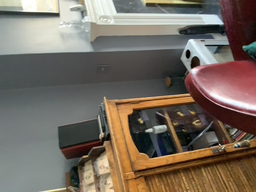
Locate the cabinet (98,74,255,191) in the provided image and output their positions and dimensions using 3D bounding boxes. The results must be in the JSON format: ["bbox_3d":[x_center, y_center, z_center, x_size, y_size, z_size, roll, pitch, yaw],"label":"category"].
[{"bbox_3d":[0.500,0.390,1.290,0.440,1.180,0.920,108,152,-52],"label":"cabinet"}]
